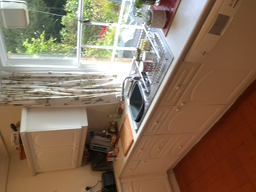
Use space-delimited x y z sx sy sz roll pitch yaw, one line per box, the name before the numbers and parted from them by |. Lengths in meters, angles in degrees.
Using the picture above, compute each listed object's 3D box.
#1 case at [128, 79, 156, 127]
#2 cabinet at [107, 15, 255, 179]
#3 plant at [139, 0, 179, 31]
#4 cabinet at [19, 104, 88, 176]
case | 0.130 0.070 2.220 0.260 0.120 0.430 109 153 -45
cabinet | 0.420 0.220 2.480 2.060 0.910 0.610 110 152 -46
plant | 0.210 -0.590 1.490 0.170 0.180 0.190 108 154 -43
cabinet | -0.930 0.600 2.720 1.170 0.680 0.310 110 152 -46
